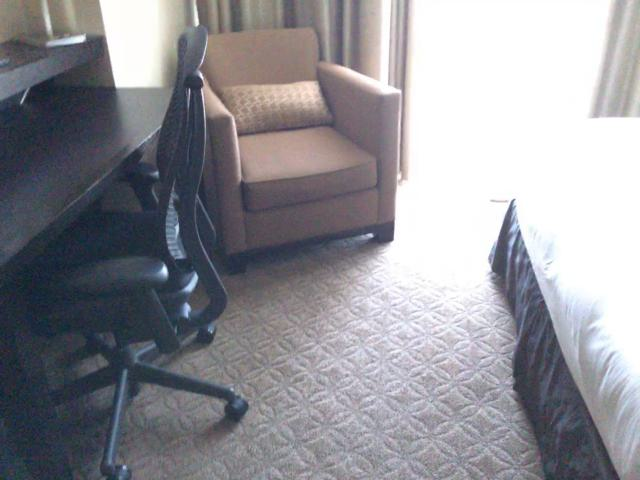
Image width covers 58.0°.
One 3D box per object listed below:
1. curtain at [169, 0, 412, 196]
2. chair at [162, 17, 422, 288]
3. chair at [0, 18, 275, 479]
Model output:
[{"bbox_3d":[-0.130,-1.180,2.820,1.150,1.920,0.300,2,27,8],"label":"curtain"},{"bbox_3d":[-0.160,-0.480,2.680,0.850,0.910,0.920,-12,29,-19],"label":"chair"},{"bbox_3d":[-0.600,0.040,1.570,0.750,1.100,0.720,-9,28,-14],"label":"chair"}]
